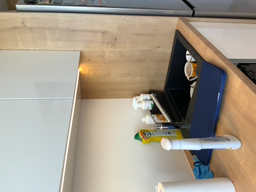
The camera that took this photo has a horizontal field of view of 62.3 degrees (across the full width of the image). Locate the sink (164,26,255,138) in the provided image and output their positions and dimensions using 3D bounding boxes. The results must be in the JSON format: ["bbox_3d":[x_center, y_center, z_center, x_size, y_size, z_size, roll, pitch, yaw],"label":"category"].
[{"bbox_3d":[0.430,-0.090,1.240,0.470,0.240,0.460,-100,12,-49],"label":"sink"}]
